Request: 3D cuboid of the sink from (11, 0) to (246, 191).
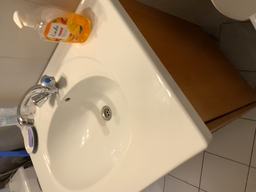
[{"bbox_3d":[-0.130,0.110,0.760,0.790,0.200,0.520,-45,66,35],"label":"sink"}]
